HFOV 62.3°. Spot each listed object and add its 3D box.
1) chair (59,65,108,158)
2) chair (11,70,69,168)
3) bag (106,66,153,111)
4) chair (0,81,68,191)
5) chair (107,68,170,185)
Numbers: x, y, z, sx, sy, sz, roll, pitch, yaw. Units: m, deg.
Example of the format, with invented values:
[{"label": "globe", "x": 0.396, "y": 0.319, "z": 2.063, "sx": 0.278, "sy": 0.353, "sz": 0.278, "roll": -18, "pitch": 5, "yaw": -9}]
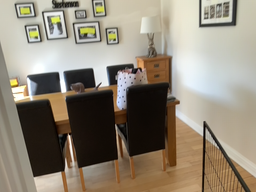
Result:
[{"label": "chair", "x": -0.580, "y": 0.170, "z": 2.800, "sx": 0.440, "sy": 1.020, "sz": 0.590, "roll": -8, "pitch": 18, "yaw": -13}, {"label": "chair", "x": -1.040, "y": 0.250, "z": 2.660, "sx": 0.430, "sy": 1.010, "sz": 0.590, "roll": -8, "pitch": 18, "yaw": -13}, {"label": "bag", "x": 0.010, "y": -0.090, "z": 2.060, "sx": 0.380, "sy": 0.330, "sz": 0.300, "roll": -7, "pitch": 18, "yaw": -9}, {"label": "chair", "x": -0.880, "y": 0.440, "z": 2.030, "sx": 0.440, "sy": 1.020, "sz": 0.600, "roll": -8, "pitch": 18, "yaw": -12}, {"label": "chair", "x": 0.110, "y": 0.280, "z": 2.280, "sx": 0.420, "sy": 1.040, "sz": 0.590, "roll": -10, "pitch": 19, "yaw": -18}]
